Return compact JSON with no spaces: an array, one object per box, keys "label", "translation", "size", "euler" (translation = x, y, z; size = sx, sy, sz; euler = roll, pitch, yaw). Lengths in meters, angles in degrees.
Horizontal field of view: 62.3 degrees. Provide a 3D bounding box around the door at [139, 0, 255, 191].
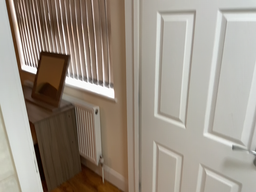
[{"label":"door","translation":[0.350,0.170,1.120],"size":[0.030,1.970,0.770],"euler":[-19,28,-39]}]
